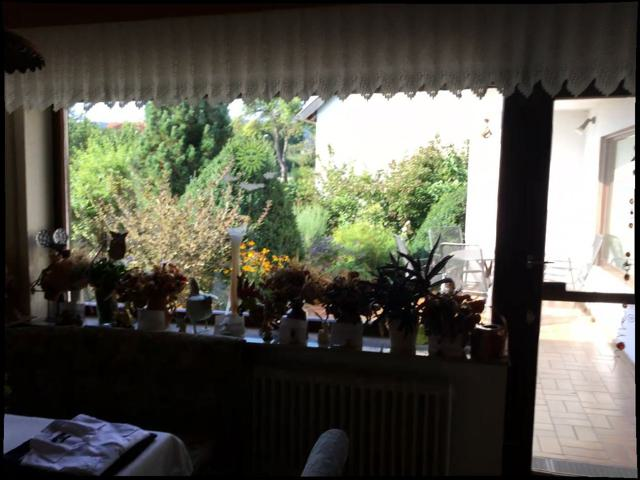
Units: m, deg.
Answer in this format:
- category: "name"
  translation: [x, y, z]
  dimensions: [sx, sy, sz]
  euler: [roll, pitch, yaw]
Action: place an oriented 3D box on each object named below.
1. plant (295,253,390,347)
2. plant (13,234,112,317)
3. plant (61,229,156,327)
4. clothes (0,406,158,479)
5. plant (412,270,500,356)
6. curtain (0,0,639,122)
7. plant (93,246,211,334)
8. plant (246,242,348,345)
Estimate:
- category: "plant"
  translation: [0.110, 0.270, 2.730]
  dimensions: [0.390, 0.370, 0.260]
  euler: [2, 8, 16]
- category: "plant"
  translation: [-1.369, 0.180, 3.090]
  dimensions: [0.430, 0.390, 0.210]
  euler: [2, 8, 16]
- category: "plant"
  translation: [-1.109, 0.190, 3.050]
  dimensions: [0.400, 0.460, 0.220]
  euler: [2, 8, 16]
- category: "clothes"
  translation: [-0.769, 0.631, 1.750]
  dimensions: [0.410, 0.070, 0.360]
  euler: [2, 8, 16]
- category: "plant"
  translation: [0.619, 0.320, 2.630]
  dimensions: [0.360, 0.300, 0.280]
  euler: [2, 8, 16]
- category: "curtain"
  translation: [0.280, -0.771, 2.340]
  dimensions: [4.336, 0.490, 0.310]
  euler: [2, 8, 16]
- category: "plant"
  translation: [-0.849, 0.240, 2.960]
  dimensions: [0.470, 0.360, 0.320]
  euler: [2, 8, 16]
- category: "plant"
  translation: [-0.100, 0.240, 2.770]
  dimensions: [0.400, 0.400, 0.340]
  euler: [2, 8, 16]
